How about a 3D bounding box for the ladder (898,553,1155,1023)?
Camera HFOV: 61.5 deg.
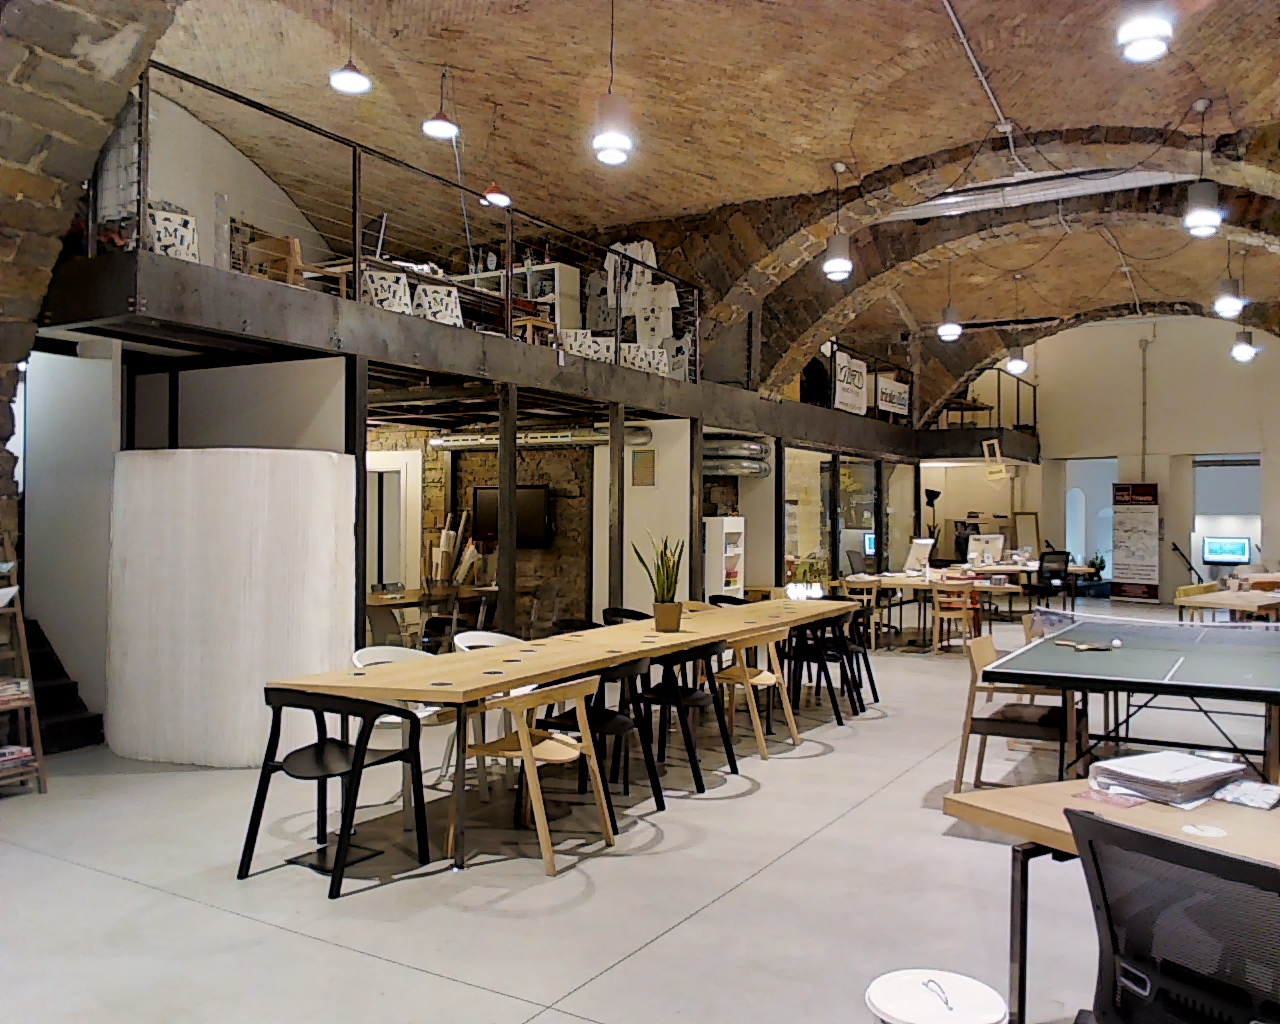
[{"bbox_3d":[0.940,0.790,2.540,0.480,1.310,0.480,-1,11,26],"label":"ladder"}]
